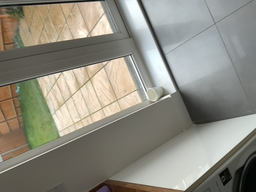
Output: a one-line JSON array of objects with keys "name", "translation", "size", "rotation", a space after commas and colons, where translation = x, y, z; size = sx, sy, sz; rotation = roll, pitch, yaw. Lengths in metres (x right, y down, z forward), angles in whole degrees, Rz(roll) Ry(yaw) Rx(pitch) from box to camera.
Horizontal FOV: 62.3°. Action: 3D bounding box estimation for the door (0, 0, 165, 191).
[{"name": "door", "translation": [-0.910, -0.600, 1.540], "size": [0.120, 2.010, 2.310], "rotation": [-29, 84, 55]}]
